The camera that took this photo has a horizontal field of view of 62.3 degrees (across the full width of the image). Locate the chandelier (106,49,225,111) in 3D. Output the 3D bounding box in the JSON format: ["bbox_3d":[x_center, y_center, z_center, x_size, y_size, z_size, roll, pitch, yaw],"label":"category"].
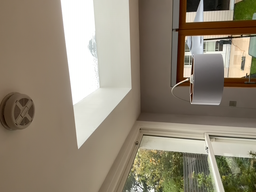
[{"bbox_3d":[0.280,-0.150,1.700,0.300,0.830,0.420,-49,140,-69],"label":"chandelier"}]
